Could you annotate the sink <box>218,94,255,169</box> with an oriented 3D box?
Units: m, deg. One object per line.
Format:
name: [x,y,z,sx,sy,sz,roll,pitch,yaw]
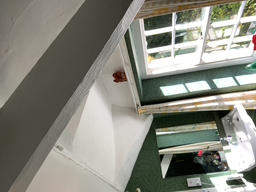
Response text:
sink: [1.280,0.400,2.330,0.450,0.290,0.670,72,-169,-59]

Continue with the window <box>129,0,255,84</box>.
window: [0.700,-0.620,2.080,0.940,1.250,0.370,72,-169,-58]

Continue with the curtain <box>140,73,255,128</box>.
curtain: [1.110,0.030,2.490,0.420,1.870,0.300,72,-169,-58]
